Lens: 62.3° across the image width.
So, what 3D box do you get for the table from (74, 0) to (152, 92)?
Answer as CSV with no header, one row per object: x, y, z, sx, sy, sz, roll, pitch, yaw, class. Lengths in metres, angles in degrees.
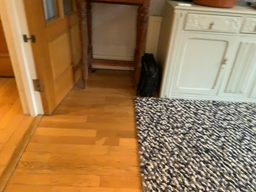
-0.140,-0.630,2.040,0.610,1.030,0.530,2,32,-3,table
